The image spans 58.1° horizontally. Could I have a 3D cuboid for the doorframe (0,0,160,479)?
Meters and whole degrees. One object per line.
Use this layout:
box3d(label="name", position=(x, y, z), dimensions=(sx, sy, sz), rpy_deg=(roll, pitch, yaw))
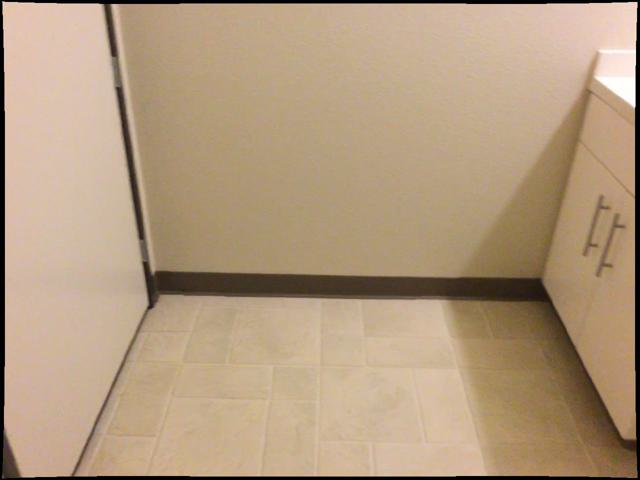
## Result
box3d(label="doorframe", position=(-0.638, -0.351, 1.320), dimensions=(0.050, 1.964, 1.101), rpy_deg=(1, 30, 0))

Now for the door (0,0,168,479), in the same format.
box3d(label="door", position=(-0.618, -0.341, 1.340), dimensions=(0.080, 1.904, 1.021), rpy_deg=(1, 30, 0))
